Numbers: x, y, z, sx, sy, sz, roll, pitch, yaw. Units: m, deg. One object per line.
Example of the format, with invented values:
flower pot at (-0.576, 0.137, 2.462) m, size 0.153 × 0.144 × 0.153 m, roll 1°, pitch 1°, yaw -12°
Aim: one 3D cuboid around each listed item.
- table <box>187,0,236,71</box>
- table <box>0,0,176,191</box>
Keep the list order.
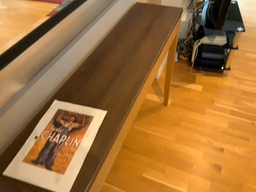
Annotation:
table at (0.840, -0.670, 2.160) m, size 0.320 × 0.530 × 0.600 m, roll 12°, pitch 48°, yaw 14°
table at (-0.080, 0.080, 1.270) m, size 0.330 × 0.870 × 1.290 m, roll 15°, pitch 49°, yaw 17°
